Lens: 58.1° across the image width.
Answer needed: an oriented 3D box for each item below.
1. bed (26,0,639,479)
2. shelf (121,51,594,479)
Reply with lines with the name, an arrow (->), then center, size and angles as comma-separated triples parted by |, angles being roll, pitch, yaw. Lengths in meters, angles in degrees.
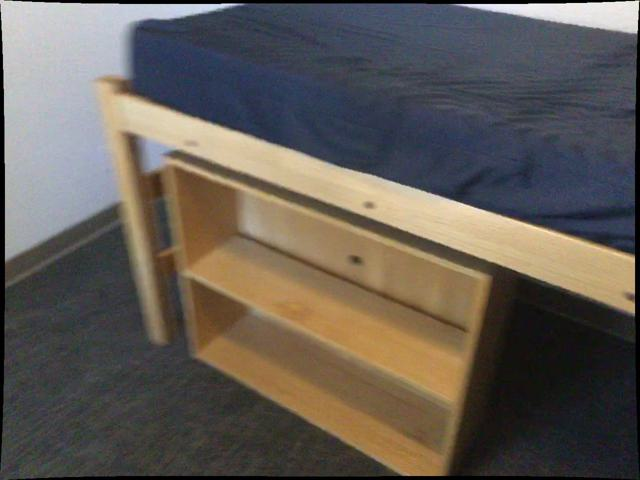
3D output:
bed -> 0.539, 0.040, 1.630 | 2.228, 1.131, 1.120 | 21, 40, 22
shelf -> 0.160, 0.020, 1.900 | 1.009, 0.801, 1.030 | 21, 40, 22
